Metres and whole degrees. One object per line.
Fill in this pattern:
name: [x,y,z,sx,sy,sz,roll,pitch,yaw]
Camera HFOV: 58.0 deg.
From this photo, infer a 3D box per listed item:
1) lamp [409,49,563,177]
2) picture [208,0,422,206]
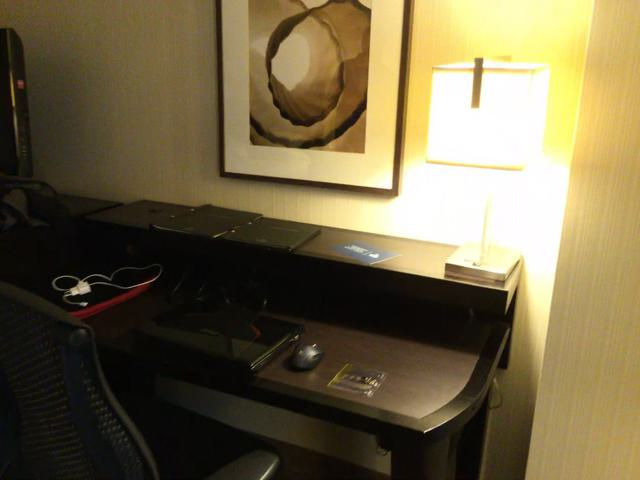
lamp: [0.390,-0.290,1.320,0.260,0.240,0.350,9,14,24]
picture: [-0.040,-0.530,1.740,0.660,0.780,0.070,9,14,24]
